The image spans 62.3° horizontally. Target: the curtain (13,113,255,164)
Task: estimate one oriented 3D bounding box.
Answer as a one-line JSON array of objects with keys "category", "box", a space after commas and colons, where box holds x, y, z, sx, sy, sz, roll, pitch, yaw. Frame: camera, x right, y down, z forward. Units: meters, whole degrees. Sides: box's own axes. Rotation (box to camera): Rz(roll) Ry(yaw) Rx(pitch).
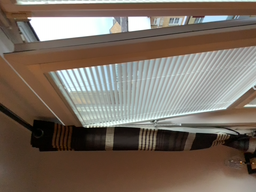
[{"category": "curtain", "box": [0.470, 0.340, 1.620, 0.610, 2.330, 0.210, 93, 176, -66]}]
